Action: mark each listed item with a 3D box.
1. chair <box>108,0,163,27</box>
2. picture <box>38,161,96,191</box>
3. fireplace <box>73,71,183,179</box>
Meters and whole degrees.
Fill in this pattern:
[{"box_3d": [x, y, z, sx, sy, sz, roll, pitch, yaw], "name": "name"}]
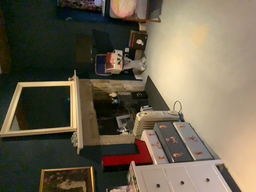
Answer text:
[{"box_3d": [0.100, -1.670, 3.900, 1.000, 0.720, 0.620, -125, 39, -64], "name": "chair"}, {"box_3d": [-0.630, 0.860, 2.220, 0.360, 0.550, 0.020, -111, 27, -50], "name": "picture"}, {"box_3d": [-0.180, 0.340, 3.630, 1.860, 1.400, 0.660, -112, 28, -53], "name": "fireplace"}]
